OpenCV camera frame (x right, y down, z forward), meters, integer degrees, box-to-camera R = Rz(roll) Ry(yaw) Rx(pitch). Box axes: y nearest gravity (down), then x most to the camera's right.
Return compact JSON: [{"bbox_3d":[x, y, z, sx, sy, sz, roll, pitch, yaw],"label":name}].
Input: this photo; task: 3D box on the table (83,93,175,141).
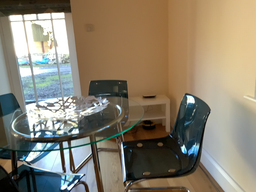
[{"bbox_3d":[0.020,0.270,2.890,1.170,0.460,0.330,-4,15,-6],"label":"table"}]
